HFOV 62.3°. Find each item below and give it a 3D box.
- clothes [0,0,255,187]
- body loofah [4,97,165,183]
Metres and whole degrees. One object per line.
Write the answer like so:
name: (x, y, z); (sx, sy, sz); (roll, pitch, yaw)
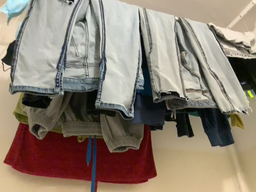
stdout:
clothes: (0.110, -0.030, 1.020); (1.520, 0.750, 0.690); (9, -32, -17)
body loofah: (-0.170, 0.230, 1.030); (0.680, 0.330, 0.130); (9, -32, -18)
